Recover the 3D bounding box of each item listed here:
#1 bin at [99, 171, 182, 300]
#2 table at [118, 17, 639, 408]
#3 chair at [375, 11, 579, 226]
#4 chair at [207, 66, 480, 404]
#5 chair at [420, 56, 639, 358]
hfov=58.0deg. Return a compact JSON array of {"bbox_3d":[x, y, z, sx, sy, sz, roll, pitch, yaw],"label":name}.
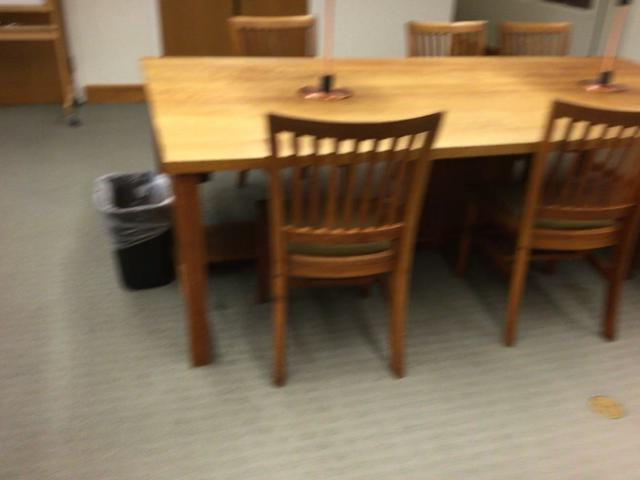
[{"bbox_3d":[-0.720,-0.030,2.340,0.270,0.390,0.360,-4,27,-16],"label":"bin"},{"bbox_3d":[0.670,-0.360,2.610,2.880,0.950,1.580,-4,27,-16],"label":"table"},{"bbox_3d":[0.770,-0.670,3.100,0.660,0.960,0.670,-4,27,-16],"label":"chair"},{"bbox_3d":[0.000,-0.060,1.960,0.670,0.910,0.640,-4,27,-16],"label":"chair"},{"bbox_3d":[0.850,-0.170,2.230,0.540,0.910,0.740,-4,27,-16],"label":"chair"}]
